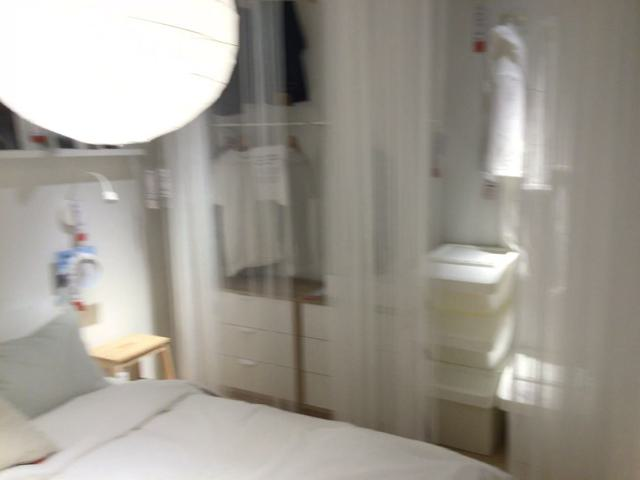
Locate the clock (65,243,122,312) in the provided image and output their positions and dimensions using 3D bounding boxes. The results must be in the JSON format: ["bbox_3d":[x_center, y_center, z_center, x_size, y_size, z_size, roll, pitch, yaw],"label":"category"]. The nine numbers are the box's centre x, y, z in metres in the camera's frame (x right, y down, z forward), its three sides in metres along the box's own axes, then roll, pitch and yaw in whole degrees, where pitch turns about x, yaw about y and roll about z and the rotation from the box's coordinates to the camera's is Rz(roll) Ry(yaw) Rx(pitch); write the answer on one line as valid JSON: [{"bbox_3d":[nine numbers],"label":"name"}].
[{"bbox_3d":[-1.110,0.180,2.840,0.100,0.290,0.220,4,11,31],"label":"clock"}]
